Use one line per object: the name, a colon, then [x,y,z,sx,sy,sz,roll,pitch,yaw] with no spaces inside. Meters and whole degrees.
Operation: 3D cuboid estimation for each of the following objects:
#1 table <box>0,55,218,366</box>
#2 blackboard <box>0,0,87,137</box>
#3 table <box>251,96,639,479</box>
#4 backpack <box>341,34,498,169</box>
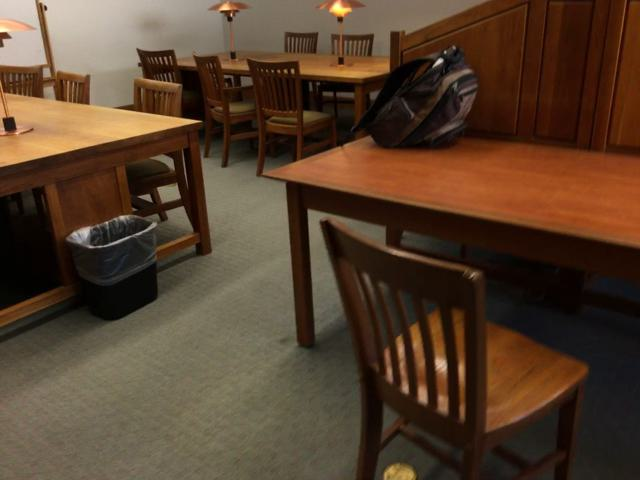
table: [-2.130,-0.430,3.350,2.750,0.970,1.480,18,31,34]
blackboard: [-2.960,-1.790,5.460,0.650,1.370,1.010,14,29,29]
table: [0.760,0.110,2.050,1.770,0.870,0.960,18,31,34]
backpack: [0.400,-0.590,2.370,0.450,0.420,0.450,18,31,34]
